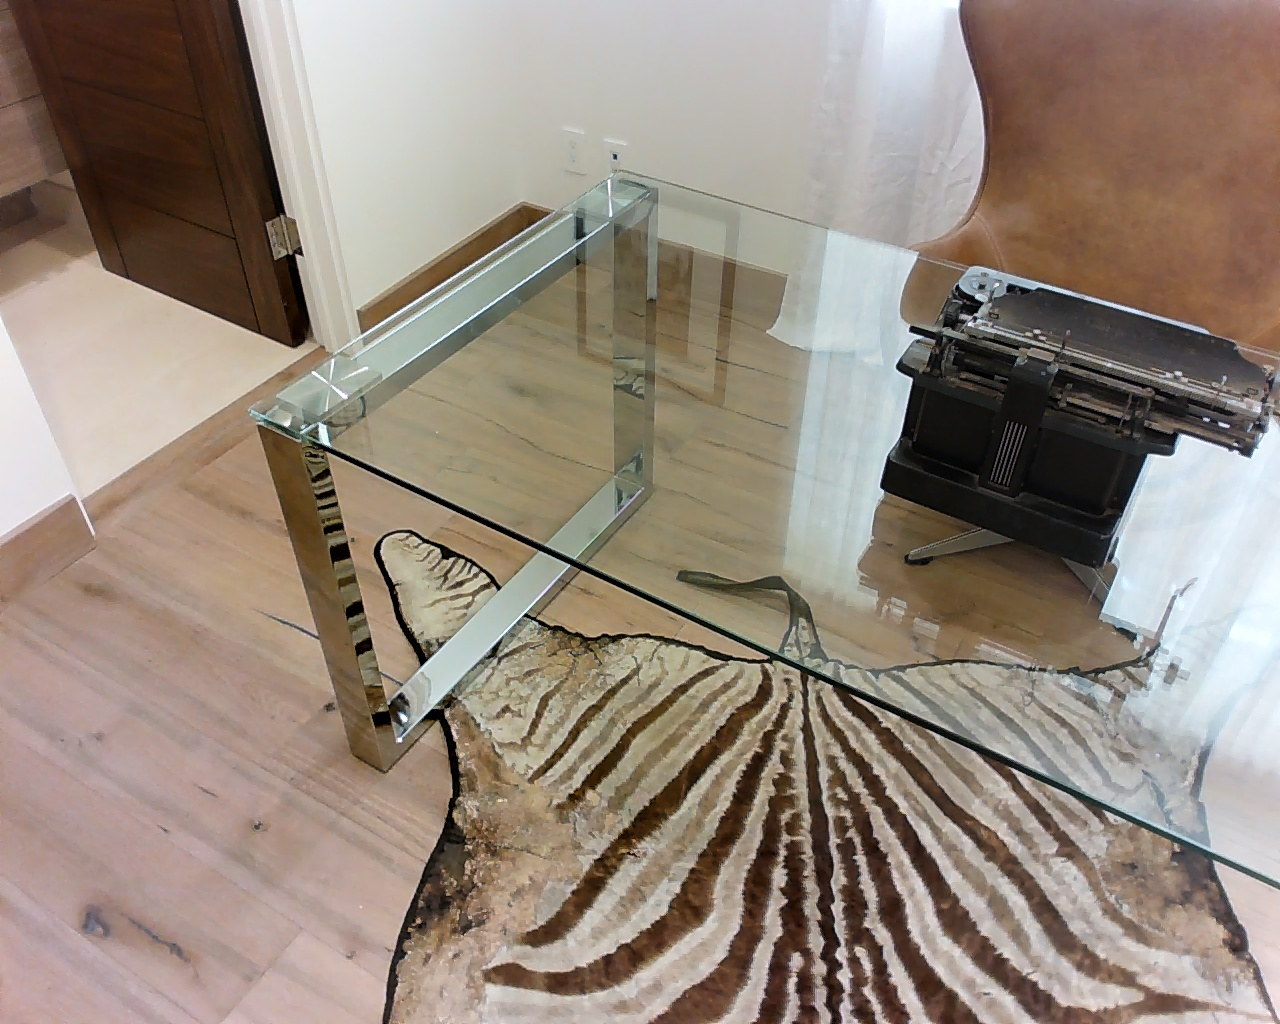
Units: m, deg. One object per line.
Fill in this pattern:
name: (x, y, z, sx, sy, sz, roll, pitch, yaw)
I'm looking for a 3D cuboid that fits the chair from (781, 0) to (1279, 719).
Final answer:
chair: (0.900, -0.440, 2.000, 0.890, 1.110, 0.850, 22, 46, 23)
